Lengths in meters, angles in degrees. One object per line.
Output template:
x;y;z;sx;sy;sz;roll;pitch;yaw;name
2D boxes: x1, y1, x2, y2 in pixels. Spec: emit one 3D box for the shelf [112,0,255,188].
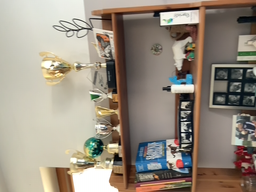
0.510;0.030;1.100;0.140;1.110;0.970;-70;-21;-69;shelf
